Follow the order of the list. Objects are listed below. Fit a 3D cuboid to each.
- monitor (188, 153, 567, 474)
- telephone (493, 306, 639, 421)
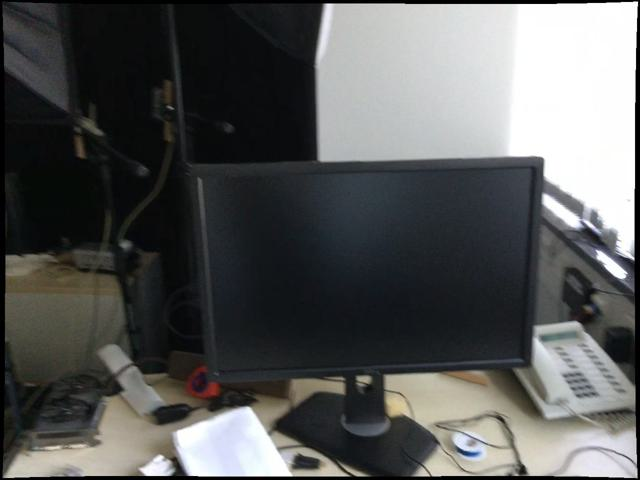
[{"bbox_3d":[0.090,0.130,0.990,0.559,0.520,0.120,-2,20,-3],"label":"monitor"},{"bbox_3d":[0.539,0.250,1.220,0.260,0.110,0.260,-1,20,-1],"label":"telephone"}]
